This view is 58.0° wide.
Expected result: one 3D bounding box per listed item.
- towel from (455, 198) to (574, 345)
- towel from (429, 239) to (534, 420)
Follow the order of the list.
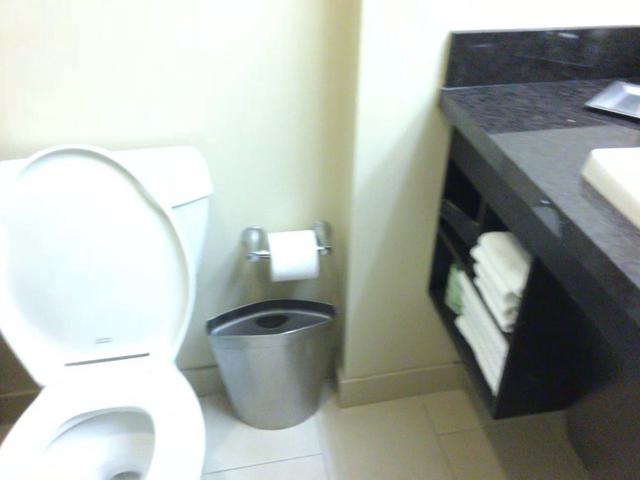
[{"bbox_3d":[0.340,0.050,1.050,0.090,0.160,0.220,-6,34,-9],"label":"towel"},{"bbox_3d":[0.320,0.170,1.210,0.040,0.170,0.370,-6,34,-9],"label":"towel"}]
